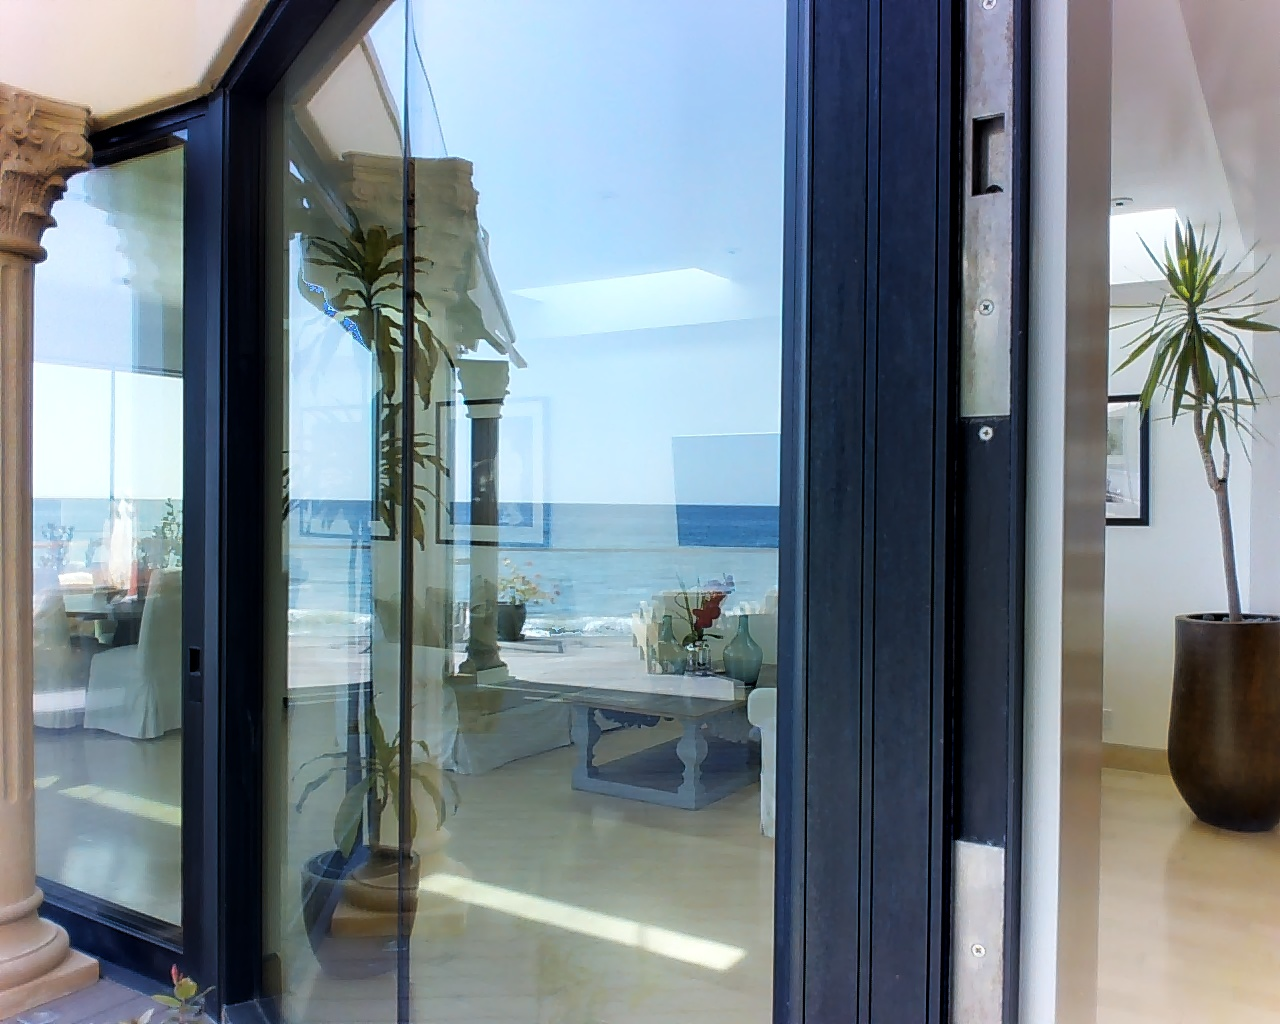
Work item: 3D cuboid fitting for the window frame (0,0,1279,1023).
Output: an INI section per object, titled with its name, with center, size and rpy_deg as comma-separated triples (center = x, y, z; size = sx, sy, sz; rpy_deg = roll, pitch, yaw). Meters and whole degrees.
[window frame]
center = -0.700, 0.020, 1.550
size = 1.599, 3.091, 4.750
rpy_deg = 0, 1, -21
